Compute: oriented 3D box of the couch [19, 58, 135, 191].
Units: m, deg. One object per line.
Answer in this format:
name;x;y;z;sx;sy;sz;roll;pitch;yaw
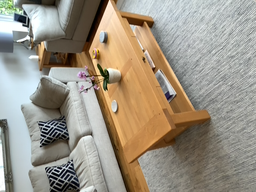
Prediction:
couch;-0.810;0.720;2.870;1.050;0.930;2.250;-52;51;45
